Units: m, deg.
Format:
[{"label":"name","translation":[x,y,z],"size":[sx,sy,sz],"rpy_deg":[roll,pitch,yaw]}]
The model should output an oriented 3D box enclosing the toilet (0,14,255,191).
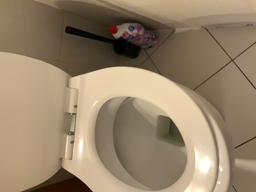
[{"label":"toilet","translation":[-0.070,0.090,0.610],"size":[0.700,0.760,0.370],"rpy_deg":[13,98,39]}]
